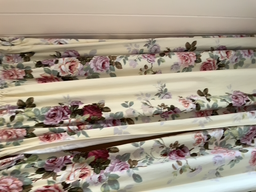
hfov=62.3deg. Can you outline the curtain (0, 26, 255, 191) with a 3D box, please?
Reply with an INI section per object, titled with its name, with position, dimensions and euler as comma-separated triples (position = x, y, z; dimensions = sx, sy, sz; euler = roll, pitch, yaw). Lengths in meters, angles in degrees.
[curtain]
position = 0.240, 0.160, 0.970
dimensions = 0.090, 1.720, 1.200
euler = 112, 149, -60
